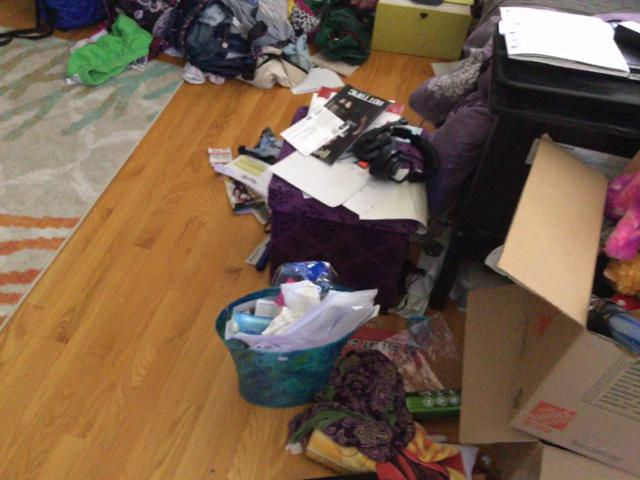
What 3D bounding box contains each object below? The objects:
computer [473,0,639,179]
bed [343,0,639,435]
[{"bbox_3d":[0.540,-0.320,1.130,0.410,0.190,0.310,16,47,3],"label":"computer"},{"bbox_3d":[0.970,-0.600,1.900,1.220,0.900,2.160,16,47,3],"label":"bed"}]
